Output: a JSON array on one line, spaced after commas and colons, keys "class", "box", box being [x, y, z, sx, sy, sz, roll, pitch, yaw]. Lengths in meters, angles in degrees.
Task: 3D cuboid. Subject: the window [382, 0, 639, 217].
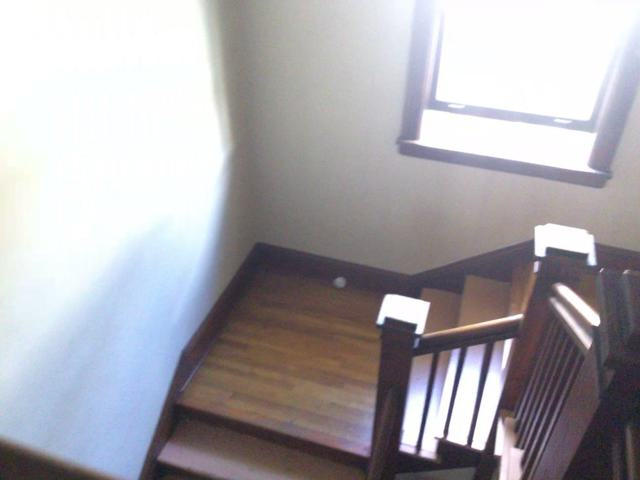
[{"class": "window", "box": [0.880, -1.020, 2.730, 1.100, 1.730, 0.400, 7, 32, 17]}]
